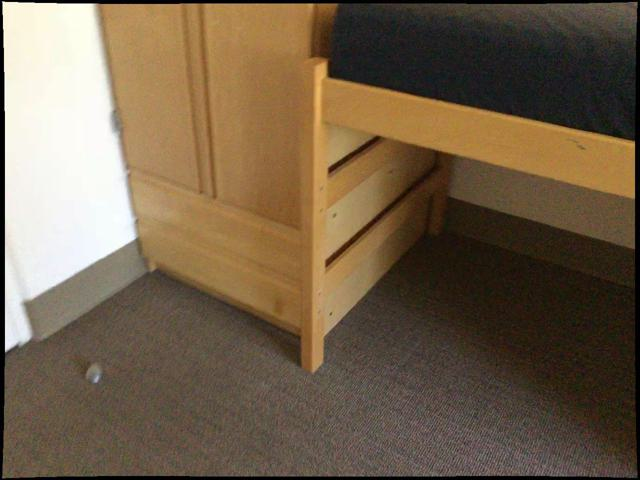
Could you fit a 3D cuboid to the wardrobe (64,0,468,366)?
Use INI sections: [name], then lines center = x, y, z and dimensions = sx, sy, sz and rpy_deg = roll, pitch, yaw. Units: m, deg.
[wardrobe]
center = -0.120, -0.762, 1.870
dimensions = 0.869, 1.924, 0.990
rpy_deg = 19, 37, 29
